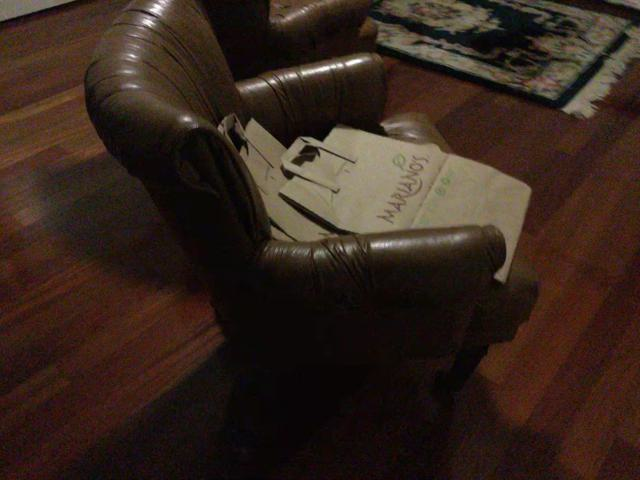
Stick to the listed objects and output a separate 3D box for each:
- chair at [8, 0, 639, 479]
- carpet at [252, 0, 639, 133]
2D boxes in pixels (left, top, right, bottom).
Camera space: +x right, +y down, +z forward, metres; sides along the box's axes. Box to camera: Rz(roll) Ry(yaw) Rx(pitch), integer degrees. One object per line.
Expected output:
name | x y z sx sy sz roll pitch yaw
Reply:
chair | 0.040 -0.020 1.130 0.780 0.780 0.770 -2 44 -5
carpet | 0.640 -1.230 2.960 1.920 0.110 1.260 33 52 28
